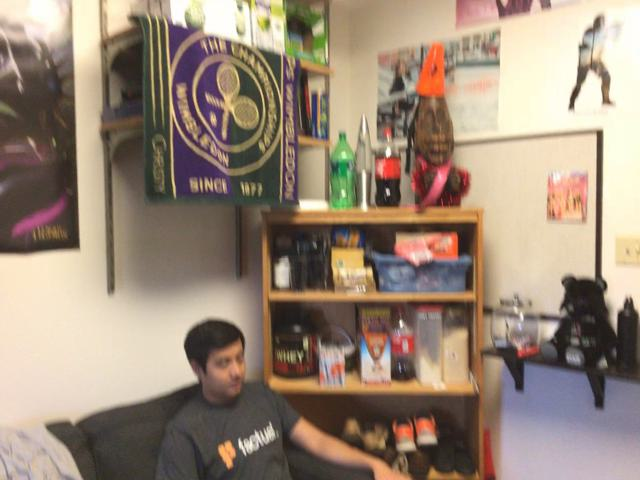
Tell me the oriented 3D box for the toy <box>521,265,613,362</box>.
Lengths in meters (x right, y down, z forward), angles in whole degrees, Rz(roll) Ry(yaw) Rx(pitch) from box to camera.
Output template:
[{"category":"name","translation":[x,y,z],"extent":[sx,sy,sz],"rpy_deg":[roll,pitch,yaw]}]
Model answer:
[{"category":"toy","translation":[0.920,0.260,2.150],"extent":[0.260,0.310,0.210],"rpy_deg":[1,2,41]}]

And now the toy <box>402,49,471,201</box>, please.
[{"category":"toy","translation":[0.480,-0.460,2.450],"extent":[0.230,0.570,0.390],"rpy_deg":[0,1,3]}]

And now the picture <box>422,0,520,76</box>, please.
[{"category":"picture","translation":[0.650,-1.020,2.520],"extent":[0.420,0.520,0.070],"rpy_deg":[1,2,41]}]

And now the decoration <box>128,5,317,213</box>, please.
[{"category":"decoration","translation":[-0.320,-0.420,2.120],"extent":[0.160,0.620,0.750],"rpy_deg":[1,2,41]}]
